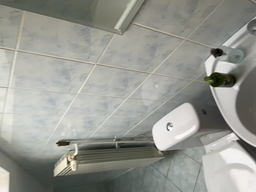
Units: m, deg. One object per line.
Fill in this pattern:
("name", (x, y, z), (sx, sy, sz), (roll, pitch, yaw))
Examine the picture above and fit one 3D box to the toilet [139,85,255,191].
("toilet", (0.580, 0.400, 1.230), (0.440, 0.770, 0.730), (-45, 50, 44))
